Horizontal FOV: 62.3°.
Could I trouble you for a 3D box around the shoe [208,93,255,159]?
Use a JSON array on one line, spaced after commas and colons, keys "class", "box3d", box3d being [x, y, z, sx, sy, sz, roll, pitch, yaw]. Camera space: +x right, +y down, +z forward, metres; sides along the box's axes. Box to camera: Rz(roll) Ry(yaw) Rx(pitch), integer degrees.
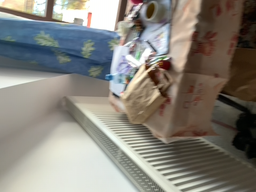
[{"class": "shoe", "box3d": [0.660, 0.160, 1.220, 0.260, 0.160, 0.280, 31, 113, 52]}]
